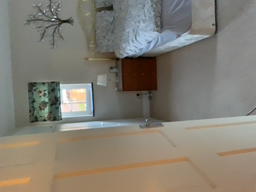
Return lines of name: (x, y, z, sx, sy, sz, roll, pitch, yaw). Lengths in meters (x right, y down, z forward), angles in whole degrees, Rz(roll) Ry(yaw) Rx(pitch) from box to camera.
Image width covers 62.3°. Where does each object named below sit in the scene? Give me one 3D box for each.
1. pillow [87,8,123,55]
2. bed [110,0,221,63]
pillow: (-0.400, -1.130, 3.740, 0.690, 0.360, 0.140, 65, 168, -8)
bed: (0.280, -1.560, 2.980, 2.110, 0.700, 1.910, -175, 83, -76)
